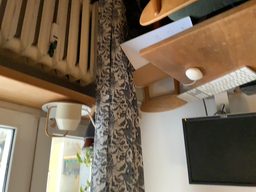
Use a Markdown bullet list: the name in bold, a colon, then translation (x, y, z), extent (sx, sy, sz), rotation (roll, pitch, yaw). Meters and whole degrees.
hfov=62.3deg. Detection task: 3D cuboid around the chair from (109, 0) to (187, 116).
- **chair**: translation (0.130, -0.290, 1.510), extent (0.380, 0.760, 0.350), rotation (-16, 155, 37)
